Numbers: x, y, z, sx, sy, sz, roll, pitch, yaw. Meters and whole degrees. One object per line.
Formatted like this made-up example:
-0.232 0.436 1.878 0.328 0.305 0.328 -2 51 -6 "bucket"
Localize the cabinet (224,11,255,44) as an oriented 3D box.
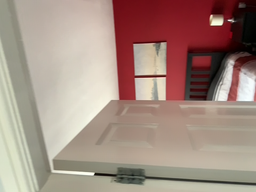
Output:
1.800 -1.030 3.140 0.510 0.530 0.420 -71 -20 -67 "cabinet"
